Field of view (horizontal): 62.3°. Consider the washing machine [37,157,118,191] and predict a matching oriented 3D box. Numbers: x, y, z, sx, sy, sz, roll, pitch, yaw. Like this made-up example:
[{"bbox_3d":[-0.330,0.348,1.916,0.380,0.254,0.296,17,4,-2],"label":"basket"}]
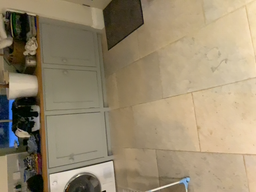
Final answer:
[{"bbox_3d":[-0.670,1.240,2.830,0.670,0.840,0.640,-17,78,54],"label":"washing machine"}]
